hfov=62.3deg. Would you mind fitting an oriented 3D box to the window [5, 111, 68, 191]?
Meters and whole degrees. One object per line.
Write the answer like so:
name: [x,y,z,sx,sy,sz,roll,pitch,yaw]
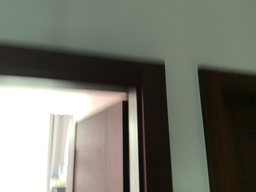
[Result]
window: [-1.880,1.380,4.410,1.090,2.110,0.140,1,-14,-6]
